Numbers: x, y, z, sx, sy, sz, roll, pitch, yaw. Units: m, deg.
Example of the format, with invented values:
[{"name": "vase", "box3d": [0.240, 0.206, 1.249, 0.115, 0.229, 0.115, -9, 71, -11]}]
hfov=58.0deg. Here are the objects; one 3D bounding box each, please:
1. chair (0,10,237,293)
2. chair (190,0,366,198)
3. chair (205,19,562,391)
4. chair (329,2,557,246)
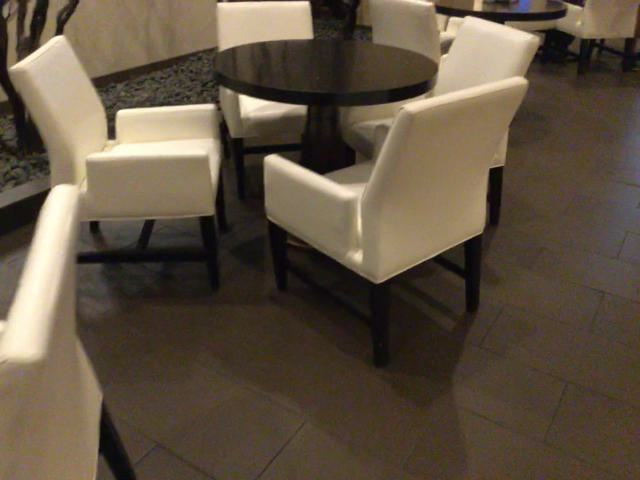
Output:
[{"name": "chair", "box3d": [-0.730, -0.350, 2.220, 0.690, 0.850, 0.640, -4, 34, -2]}, {"name": "chair", "box3d": [-0.220, -0.810, 3.000, 0.680, 0.830, 0.720, -13, 35, -15]}, {"name": "chair", "box3d": [0.200, -0.190, 2.010, 0.780, 0.860, 0.760, -27, 41, -32]}, {"name": "chair", "box3d": [0.500, -0.560, 2.650, 0.710, 0.820, 0.640, -14, 36, -17]}]
